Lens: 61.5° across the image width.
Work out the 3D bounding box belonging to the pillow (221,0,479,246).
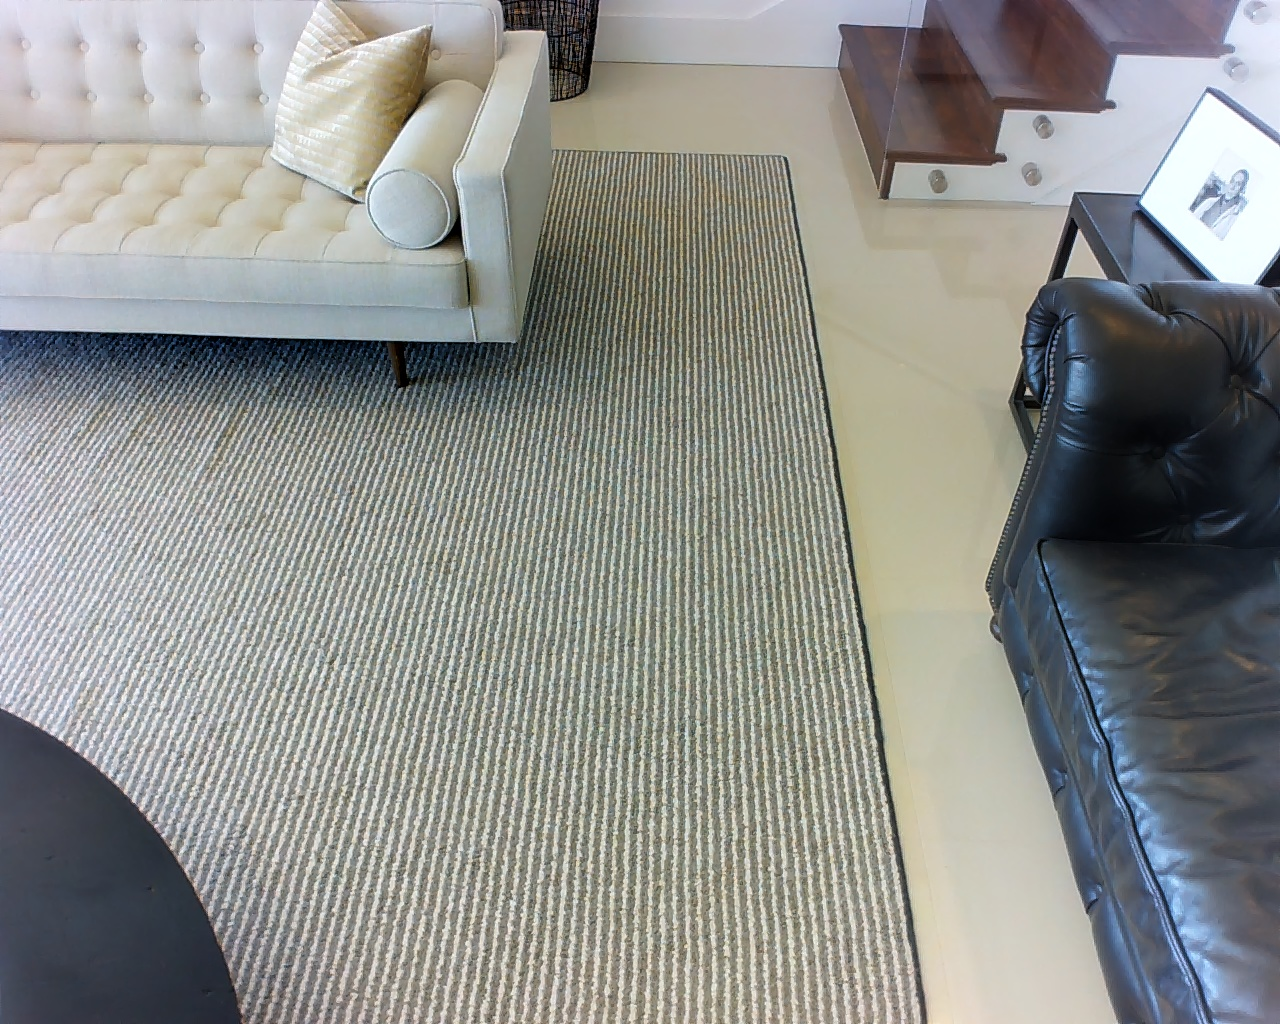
[{"bbox_3d":[-0.680,-0.980,2.610,0.440,0.430,0.280,38,76,12],"label":"pillow"}]
